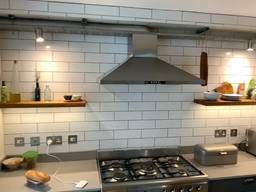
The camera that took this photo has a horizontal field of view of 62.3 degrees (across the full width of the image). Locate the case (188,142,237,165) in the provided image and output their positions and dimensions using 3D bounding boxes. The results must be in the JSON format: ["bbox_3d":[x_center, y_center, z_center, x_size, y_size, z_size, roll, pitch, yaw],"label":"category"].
[{"bbox_3d":[0.860,0.580,2.170,0.410,0.130,0.220,0,5,-14],"label":"case"}]
